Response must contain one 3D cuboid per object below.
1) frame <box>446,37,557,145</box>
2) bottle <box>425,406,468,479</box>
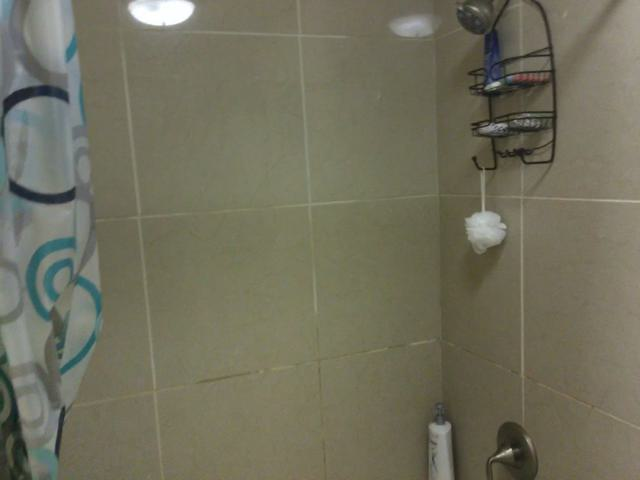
[{"bbox_3d":[0.470,-0.380,1.540,0.130,0.230,0.300,-3,5,-18],"label":"frame"},{"bbox_3d":[0.420,0.710,1.920,0.090,0.270,0.120,-3,5,-18],"label":"bottle"}]
